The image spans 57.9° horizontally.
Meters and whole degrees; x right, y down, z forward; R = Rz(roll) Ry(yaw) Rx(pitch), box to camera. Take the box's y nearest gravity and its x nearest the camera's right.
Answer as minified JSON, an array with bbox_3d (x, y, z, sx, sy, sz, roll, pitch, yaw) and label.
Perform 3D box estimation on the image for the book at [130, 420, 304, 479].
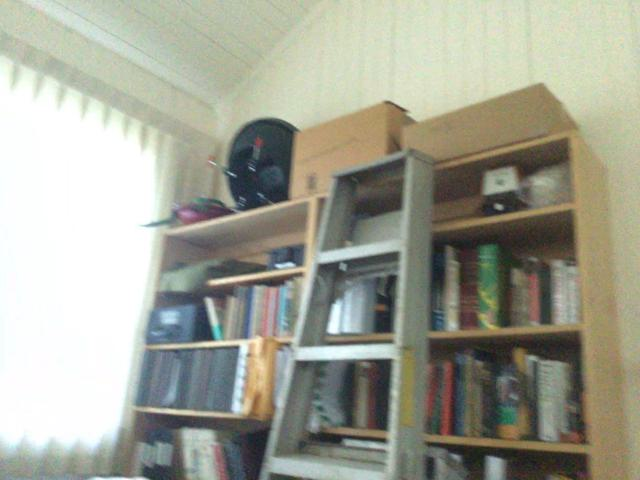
[{"bbox_3d":[-0.400,0.850,2.130,0.670,0.320,0.230,-11,-22,38],"label":"book"}]

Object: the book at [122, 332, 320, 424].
[{"bbox_3d":[-0.400,0.520,2.170,0.870,0.280,0.170,-11,-22,38],"label":"book"}]

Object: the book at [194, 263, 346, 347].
[{"bbox_3d":[-0.190,0.260,2.160,0.510,0.230,0.260,-11,-22,38],"label":"book"}]

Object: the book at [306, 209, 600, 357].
[{"bbox_3d":[0.370,0.170,1.760,0.790,0.310,0.320,-11,-22,38],"label":"book"}]
